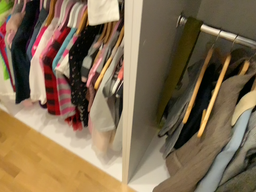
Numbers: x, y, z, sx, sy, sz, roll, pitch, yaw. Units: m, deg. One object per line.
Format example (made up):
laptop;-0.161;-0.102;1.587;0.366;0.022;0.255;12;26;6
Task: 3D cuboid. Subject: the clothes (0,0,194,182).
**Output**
clothes;-0.260;-0.150;1.180;0.850;0.870;0.600;28;56;17

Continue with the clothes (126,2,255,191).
clothes;0.510;0.220;1.000;0.780;0.850;0.640;28;56;17
